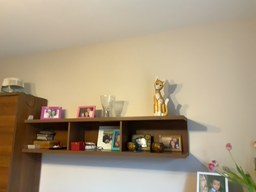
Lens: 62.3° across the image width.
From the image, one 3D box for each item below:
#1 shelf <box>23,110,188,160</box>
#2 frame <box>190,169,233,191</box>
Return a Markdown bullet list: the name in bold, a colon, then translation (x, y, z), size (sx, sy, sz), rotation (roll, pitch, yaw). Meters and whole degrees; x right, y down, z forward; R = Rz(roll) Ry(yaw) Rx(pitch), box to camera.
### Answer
- **shelf**: translation (-0.240, 0.330, 1.860), size (1.450, 0.340, 0.270), rotation (-3, -12, 20)
- **frame**: translation (0.590, 0.670, 1.500), size (0.260, 0.250, 0.190), rotation (-3, -12, 21)
